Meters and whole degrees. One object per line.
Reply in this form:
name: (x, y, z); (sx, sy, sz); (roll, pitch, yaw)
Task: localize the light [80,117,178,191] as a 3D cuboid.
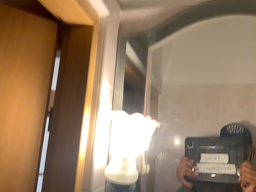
light: (-0.010, 0.160, 0.530); (0.210, 0.110, 0.130); (-35, 55, 36)
